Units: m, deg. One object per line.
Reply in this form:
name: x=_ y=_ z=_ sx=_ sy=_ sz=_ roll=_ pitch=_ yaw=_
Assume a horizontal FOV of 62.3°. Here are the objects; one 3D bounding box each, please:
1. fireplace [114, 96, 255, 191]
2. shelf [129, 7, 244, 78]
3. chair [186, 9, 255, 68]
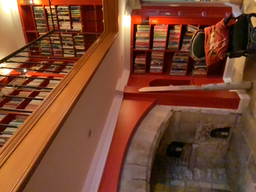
fireplace: x=0.850 y=1.590 z=2.850 sx=3.260 sy=1.950 sz=1.540 roll=-77 pitch=-11 yaw=-57
shelf: x=1.120 y=-1.150 z=4.580 sx=0.440 sy=2.150 sz=1.340 roll=-76 pitch=-12 yaw=-61
chair: x=1.610 y=-0.940 z=3.630 sx=0.890 sy=1.030 sz=0.610 roll=61 pitch=-147 yaw=-79
